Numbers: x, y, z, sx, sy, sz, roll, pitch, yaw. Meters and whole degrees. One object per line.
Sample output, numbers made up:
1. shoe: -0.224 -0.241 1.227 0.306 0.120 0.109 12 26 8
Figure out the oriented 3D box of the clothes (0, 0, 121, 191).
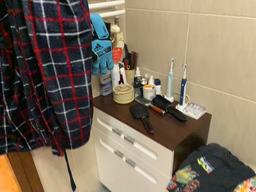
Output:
1. clothes: -0.310 -0.270 0.770 0.270 1.420 0.440 22 37 37
